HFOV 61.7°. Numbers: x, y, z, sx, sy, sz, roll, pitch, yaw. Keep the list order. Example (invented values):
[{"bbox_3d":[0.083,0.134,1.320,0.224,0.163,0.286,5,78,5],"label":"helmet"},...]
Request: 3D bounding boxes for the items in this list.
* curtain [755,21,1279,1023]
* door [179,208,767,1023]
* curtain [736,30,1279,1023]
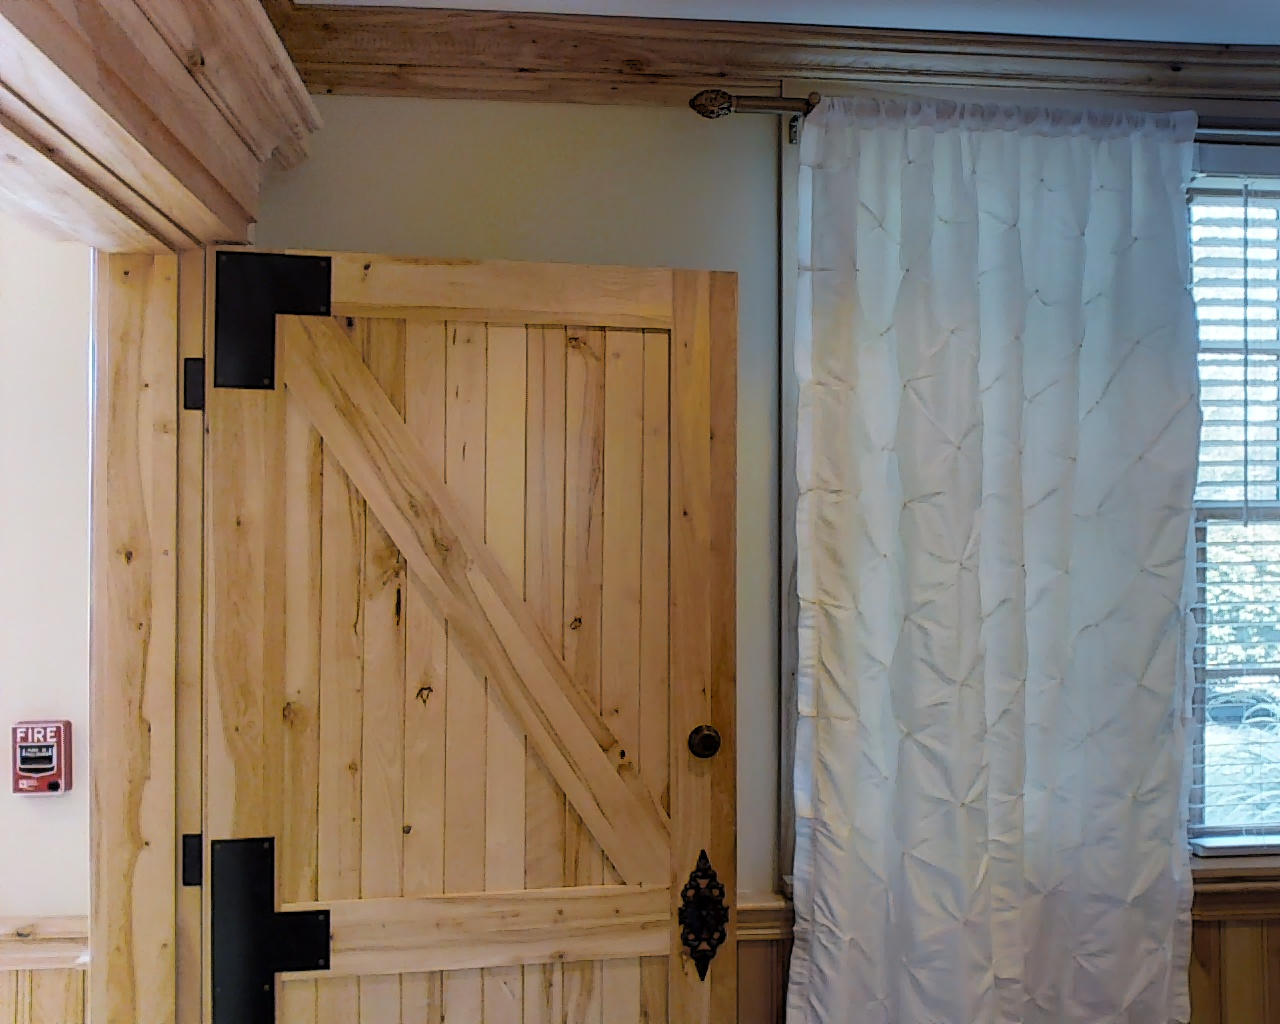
[{"bbox_3d":[1.250,0.410,2.170,1.950,2.500,0.490,0,-1,-6],"label":"curtain"},{"bbox_3d":[-0.270,0.590,1.860,0.980,2.170,0.100,0,-1,-9],"label":"door"},{"bbox_3d":[0.760,0.400,2.170,1.060,2.540,0.380,0,-1,-6],"label":"curtain"}]
